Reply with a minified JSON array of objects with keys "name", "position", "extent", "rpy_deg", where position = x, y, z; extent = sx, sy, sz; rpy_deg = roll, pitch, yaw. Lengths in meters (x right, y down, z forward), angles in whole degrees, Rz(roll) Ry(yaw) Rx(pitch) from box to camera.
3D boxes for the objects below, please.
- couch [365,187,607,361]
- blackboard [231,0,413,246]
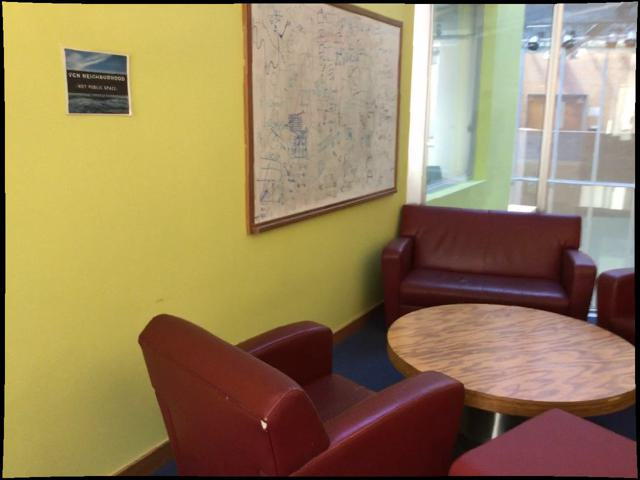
[{"name":"couch","position":[1.129,0.160,4.080],"extent":[1.389,0.751,0.980],"rpy_deg":[7,19,17]},{"name":"blackboard","position":[0.110,-0.781,3.360],"extent":[0.110,1.191,1.800],"rpy_deg":[12,21,28]}]
